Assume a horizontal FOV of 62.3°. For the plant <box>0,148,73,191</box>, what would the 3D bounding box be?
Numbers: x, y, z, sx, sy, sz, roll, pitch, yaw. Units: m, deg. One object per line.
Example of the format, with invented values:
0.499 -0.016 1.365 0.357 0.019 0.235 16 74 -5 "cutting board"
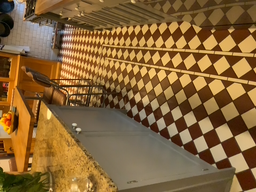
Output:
-0.630 0.520 1.220 0.300 0.500 0.310 23 104 55 "plant"
